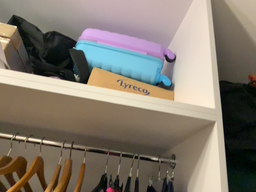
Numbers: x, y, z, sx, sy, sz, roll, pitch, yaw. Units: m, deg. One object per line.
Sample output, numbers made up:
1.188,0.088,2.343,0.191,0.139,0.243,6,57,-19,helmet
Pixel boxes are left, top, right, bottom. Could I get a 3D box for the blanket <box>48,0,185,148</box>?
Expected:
-0.030,-0.100,0.970,0.440,0.530,0.390,9,-27,-4,blanket
